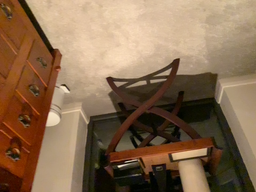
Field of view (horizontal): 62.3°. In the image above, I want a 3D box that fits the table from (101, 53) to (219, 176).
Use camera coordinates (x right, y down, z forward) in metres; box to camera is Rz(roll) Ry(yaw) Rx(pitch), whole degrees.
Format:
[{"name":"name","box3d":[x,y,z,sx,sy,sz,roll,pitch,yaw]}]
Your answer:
[{"name":"table","box3d":[0.190,0.140,1.540,0.640,0.640,0.500,-9,140,6]}]
